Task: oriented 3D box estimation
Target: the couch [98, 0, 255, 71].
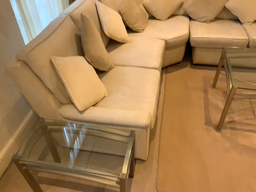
[{"bbox_3d":[1.260,-0.960,2.590,3.040,0.870,0.940,6,42,8],"label":"couch"}]
